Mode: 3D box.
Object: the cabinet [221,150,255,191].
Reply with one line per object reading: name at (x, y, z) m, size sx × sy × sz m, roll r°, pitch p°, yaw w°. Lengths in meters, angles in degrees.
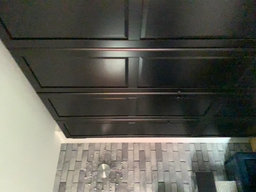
cabinet at (1.390, 0.970, 2.390) m, size 0.400 × 0.380 × 0.610 m, roll 91°, pitch 179°, yaw -58°
